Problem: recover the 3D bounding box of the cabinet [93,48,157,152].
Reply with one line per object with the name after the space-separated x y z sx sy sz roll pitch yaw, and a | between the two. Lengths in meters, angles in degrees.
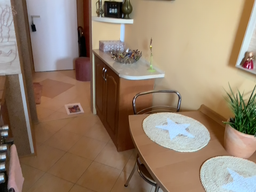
-0.090 -0.010 2.340 0.380 0.860 0.790 -8 27 -22 | cabinet
